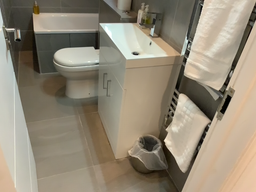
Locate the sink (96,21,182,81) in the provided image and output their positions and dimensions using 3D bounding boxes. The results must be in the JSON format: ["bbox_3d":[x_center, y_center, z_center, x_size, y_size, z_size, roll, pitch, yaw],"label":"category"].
[{"bbox_3d":[0.030,-0.340,1.430,0.350,0.130,0.640,-7,38,-20],"label":"sink"}]
